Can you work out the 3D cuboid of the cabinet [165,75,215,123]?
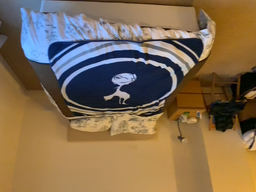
[{"bbox_3d":[0.930,0.070,3.320,0.490,0.550,0.610,1,157,-7],"label":"cabinet"}]
